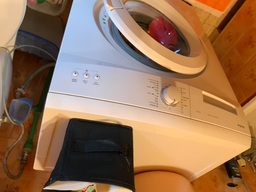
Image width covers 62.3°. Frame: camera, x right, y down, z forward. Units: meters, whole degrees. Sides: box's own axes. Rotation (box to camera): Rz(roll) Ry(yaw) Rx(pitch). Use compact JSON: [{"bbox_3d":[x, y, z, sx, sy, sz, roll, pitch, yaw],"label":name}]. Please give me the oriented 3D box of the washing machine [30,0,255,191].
[{"bbox_3d":[0.000,-0.090,0.980,0.620,0.840,0.570,13,137,-17],"label":"washing machine"}]
